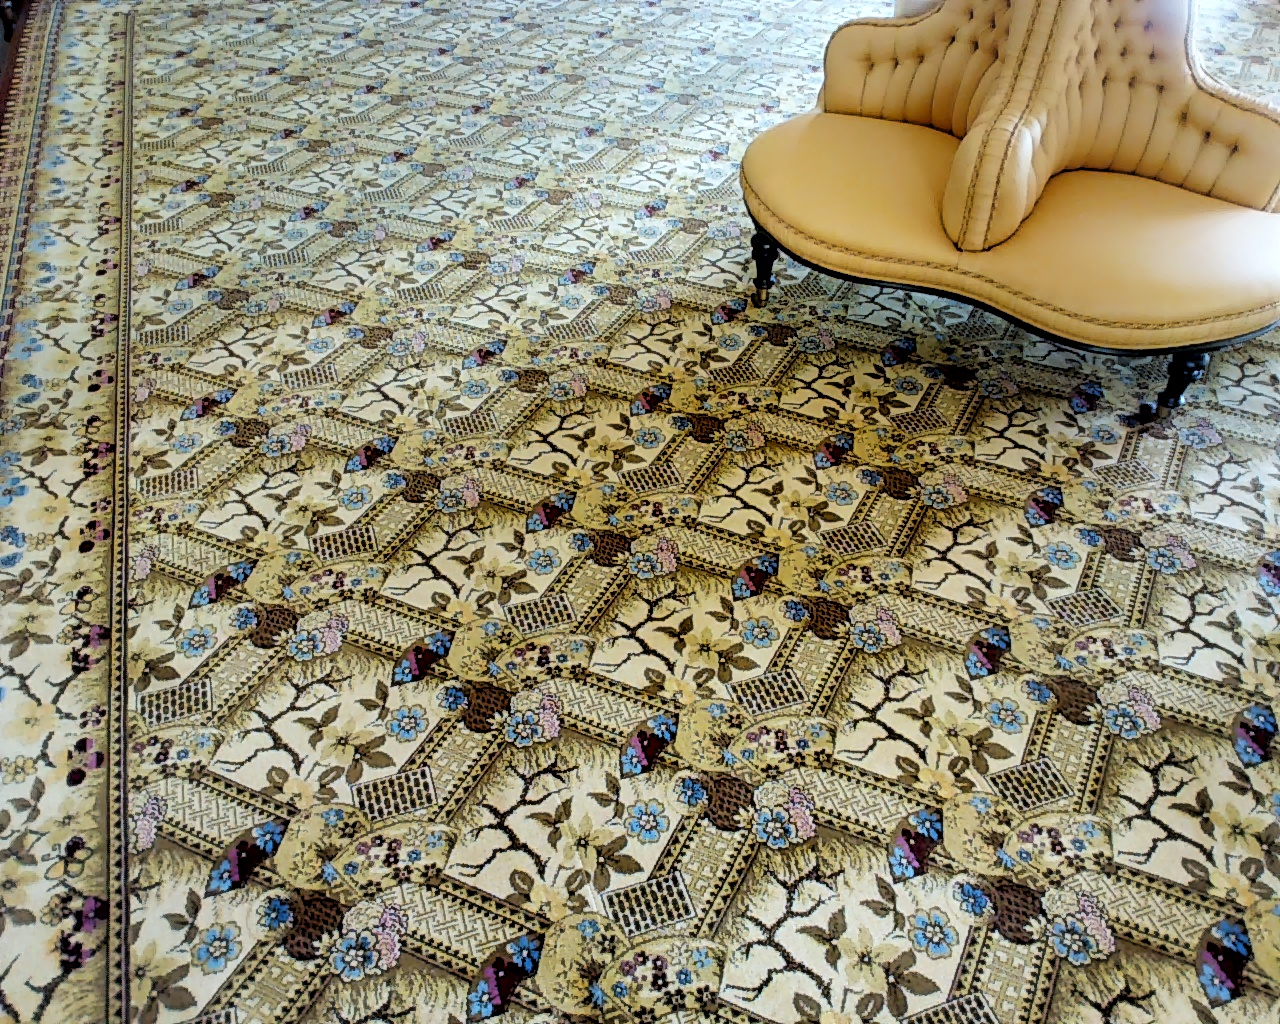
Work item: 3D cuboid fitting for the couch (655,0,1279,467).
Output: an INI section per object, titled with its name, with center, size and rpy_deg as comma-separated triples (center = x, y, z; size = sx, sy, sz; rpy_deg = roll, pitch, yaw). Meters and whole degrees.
[couch]
center = 1.060, -1.110, 2.840
size = 1.530, 0.900, 1.480
rpy_deg = 19, 45, 19
